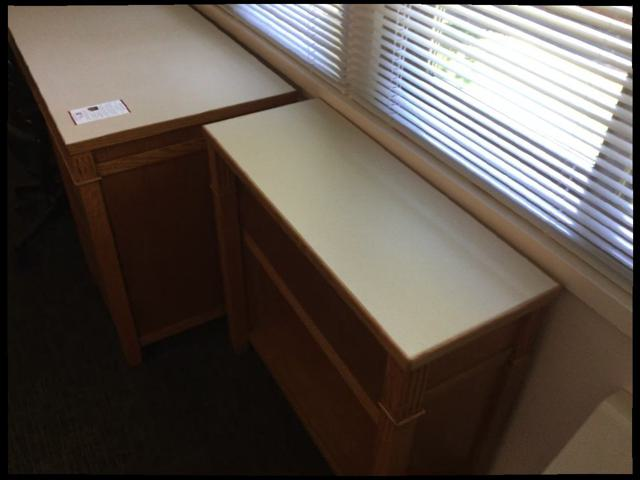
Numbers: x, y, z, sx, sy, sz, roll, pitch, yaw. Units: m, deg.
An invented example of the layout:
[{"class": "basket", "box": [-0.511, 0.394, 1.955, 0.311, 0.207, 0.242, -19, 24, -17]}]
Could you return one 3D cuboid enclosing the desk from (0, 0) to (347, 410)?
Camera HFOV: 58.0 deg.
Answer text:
[{"class": "desk", "box": [-0.599, -0.321, 1.980, 0.719, 0.781, 1.390, -19, 44, -23]}]
